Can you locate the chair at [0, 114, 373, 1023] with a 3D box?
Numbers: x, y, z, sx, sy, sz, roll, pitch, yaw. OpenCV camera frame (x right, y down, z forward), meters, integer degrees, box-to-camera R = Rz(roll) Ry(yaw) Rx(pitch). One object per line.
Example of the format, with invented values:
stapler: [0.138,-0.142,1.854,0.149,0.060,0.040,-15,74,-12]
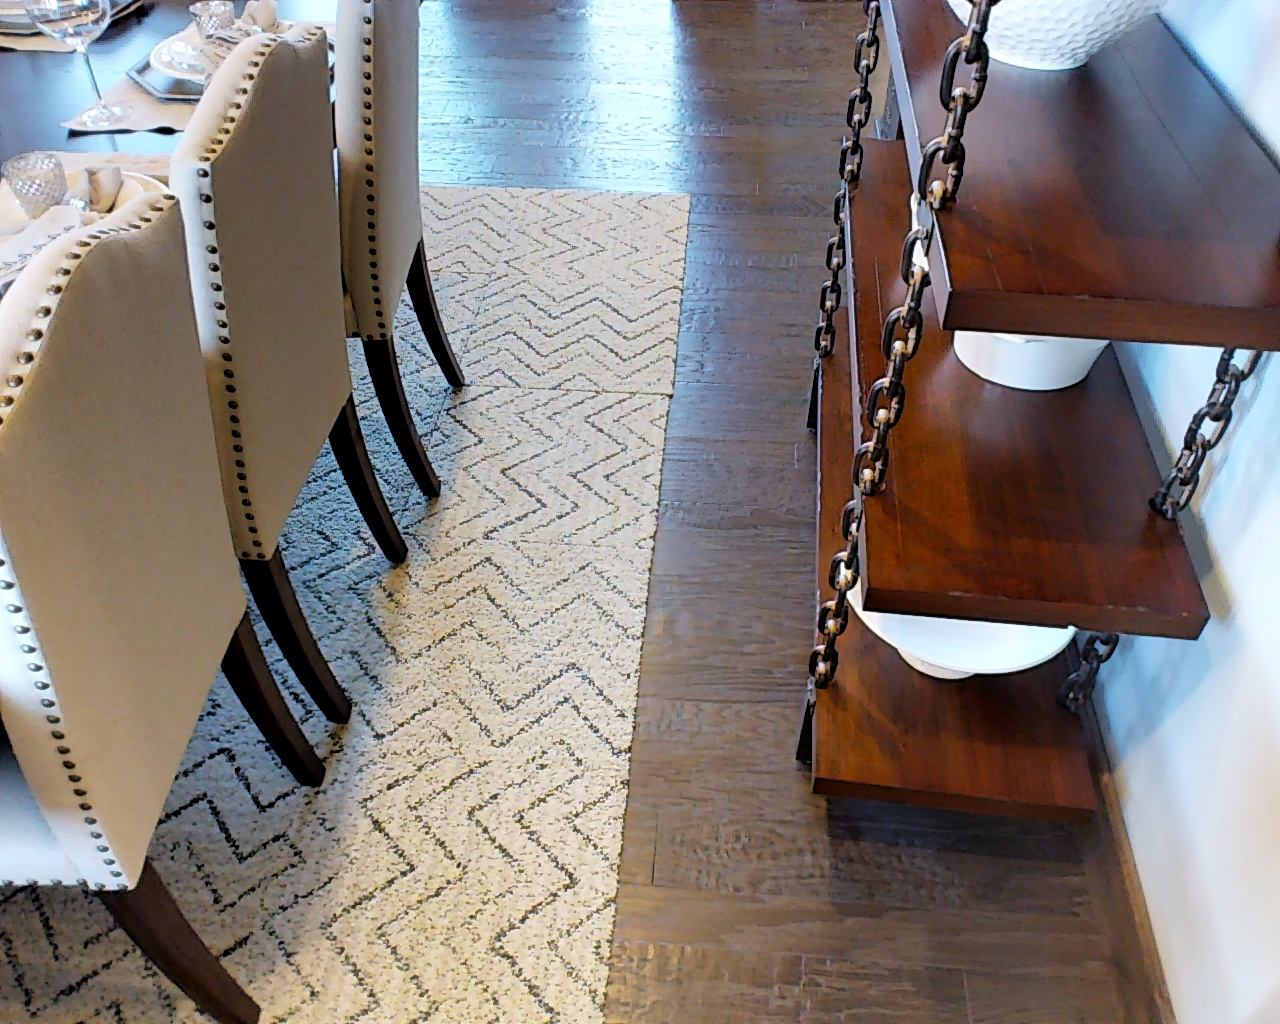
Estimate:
chair: [-0.810,0.140,1.200,0.730,0.980,0.540,3,42,3]

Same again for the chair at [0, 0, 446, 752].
chair: [-0.720,-0.200,1.590,0.630,0.990,0.580,3,42,3]
